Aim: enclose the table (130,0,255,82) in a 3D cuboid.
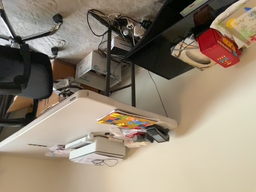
[{"bbox_3d":[0.580,-0.510,1.250,0.440,0.300,1.180,21,146,-38],"label":"table"}]
